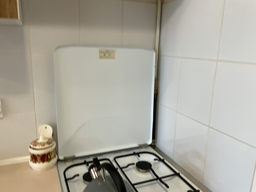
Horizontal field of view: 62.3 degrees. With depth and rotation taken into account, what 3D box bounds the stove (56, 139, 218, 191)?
[{"bbox_3d":[0.020,0.410,0.870,0.530,0.150,0.610,-4,15,-24],"label":"stove"}]
